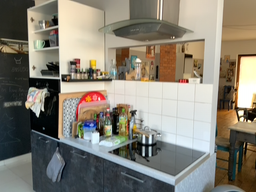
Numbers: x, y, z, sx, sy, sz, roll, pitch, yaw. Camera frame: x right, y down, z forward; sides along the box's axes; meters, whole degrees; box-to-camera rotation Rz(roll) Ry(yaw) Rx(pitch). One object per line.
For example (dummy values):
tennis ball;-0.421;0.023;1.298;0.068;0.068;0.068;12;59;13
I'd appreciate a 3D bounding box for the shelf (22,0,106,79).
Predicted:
shelf;-0.680;-0.580;2.300;0.650;0.740;0.600;7;10;39
